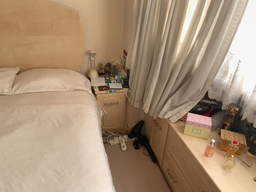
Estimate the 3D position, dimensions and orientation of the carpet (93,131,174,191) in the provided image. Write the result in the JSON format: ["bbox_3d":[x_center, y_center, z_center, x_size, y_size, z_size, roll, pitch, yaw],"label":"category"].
[{"bbox_3d":[0.010,0.630,1.950,0.540,0.010,0.910,-5,29,-16],"label":"carpet"}]
